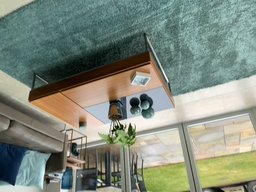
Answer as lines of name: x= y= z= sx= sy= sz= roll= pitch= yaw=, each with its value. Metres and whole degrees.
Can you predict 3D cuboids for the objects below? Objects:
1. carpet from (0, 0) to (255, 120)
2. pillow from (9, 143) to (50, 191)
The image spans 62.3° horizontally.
carpet: x=0.070 y=-0.340 z=2.000 sx=2.470 sy=0.060 sz=1.690 roll=-14 pitch=149 yaw=16
pillow: x=-1.300 y=0.940 z=2.820 sx=0.220 sy=0.520 sz=0.360 roll=-16 pitch=173 yaw=35
